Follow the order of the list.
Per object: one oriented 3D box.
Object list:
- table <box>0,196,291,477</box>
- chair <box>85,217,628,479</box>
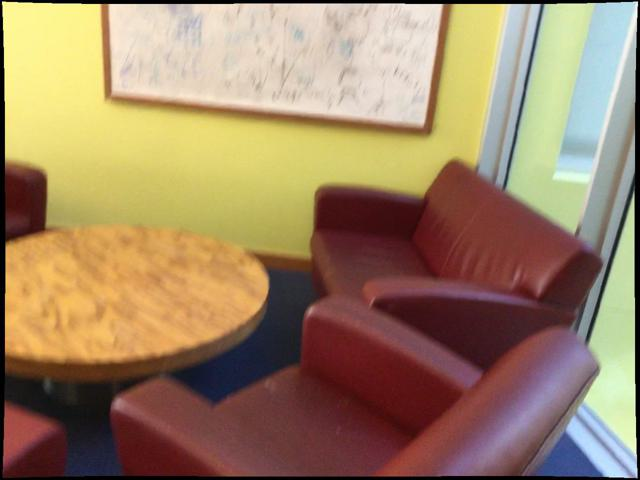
[{"bbox_3d":[-0.809,0.270,2.350,1.209,0.420,1.200,5,24,4],"label":"table"},{"bbox_3d":[0.080,0.551,1.470,0.910,0.811,0.840,21,29,34],"label":"chair"}]
